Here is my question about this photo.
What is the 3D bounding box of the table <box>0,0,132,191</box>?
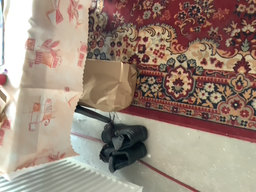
[{"bbox_3d":[-0.490,-0.340,1.130,0.740,0.610,1.300,12,94,28],"label":"table"}]
